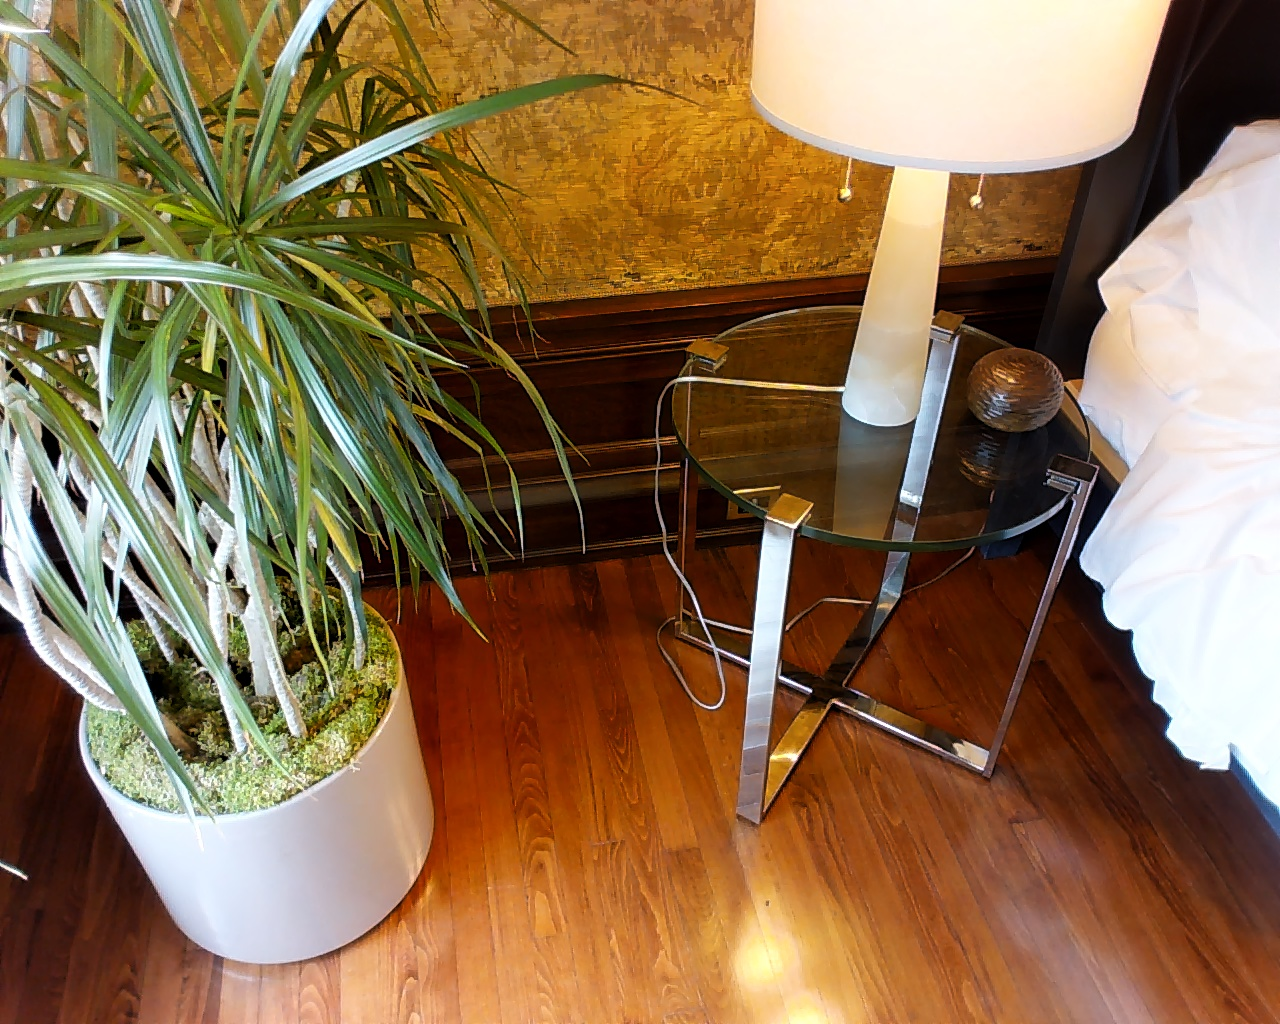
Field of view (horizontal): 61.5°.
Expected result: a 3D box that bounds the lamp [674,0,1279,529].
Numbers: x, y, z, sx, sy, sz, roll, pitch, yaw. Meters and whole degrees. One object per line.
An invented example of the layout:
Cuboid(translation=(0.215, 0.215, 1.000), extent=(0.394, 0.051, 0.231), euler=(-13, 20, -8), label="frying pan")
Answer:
Cuboid(translation=(0.370, -0.490, 1.390), extent=(0.530, 0.840, 0.510), euler=(-7, 42, -9), label="lamp")

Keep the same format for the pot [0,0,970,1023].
Cuboid(translation=(-0.570, -0.340, 0.980), extent=(1.200, 2.370, 1.210), euler=(-7, 42, -9), label="pot")
